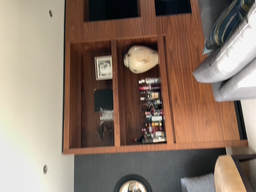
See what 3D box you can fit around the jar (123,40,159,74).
[{"bbox_3d":[0.190,-0.560,3.130,0.380,0.470,0.340,70,-163,-78],"label":"jar"}]
